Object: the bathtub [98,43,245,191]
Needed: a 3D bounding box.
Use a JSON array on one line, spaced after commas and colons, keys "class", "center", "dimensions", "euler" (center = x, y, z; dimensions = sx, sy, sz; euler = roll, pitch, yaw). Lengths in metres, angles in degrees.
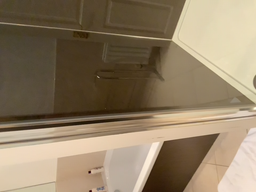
[{"class": "bathtub", "center": [0.220, 0.440, 2.030], "dimensions": [0.710, 0.580, 1.650], "euler": [-122, 39, -46]}]
